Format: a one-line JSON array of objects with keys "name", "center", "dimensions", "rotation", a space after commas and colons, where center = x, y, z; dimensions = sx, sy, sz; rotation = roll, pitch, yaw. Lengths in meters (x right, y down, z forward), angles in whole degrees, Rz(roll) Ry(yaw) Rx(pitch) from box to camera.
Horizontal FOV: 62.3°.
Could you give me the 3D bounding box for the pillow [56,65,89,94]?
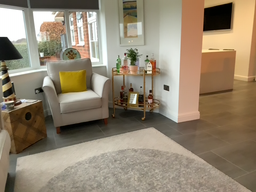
[{"name": "pillow", "center": [-0.880, -0.250, 3.330], "dimensions": [0.420, 0.350, 0.200], "rotation": [7, 27, -26]}]
